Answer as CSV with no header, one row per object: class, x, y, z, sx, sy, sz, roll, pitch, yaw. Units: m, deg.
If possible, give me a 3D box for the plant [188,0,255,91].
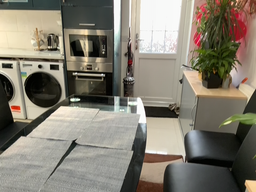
plant,0.910,-0.640,2.080,0.450,1.070,0.430,4,20,8
